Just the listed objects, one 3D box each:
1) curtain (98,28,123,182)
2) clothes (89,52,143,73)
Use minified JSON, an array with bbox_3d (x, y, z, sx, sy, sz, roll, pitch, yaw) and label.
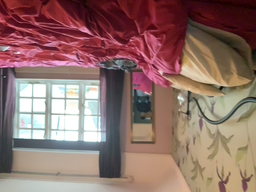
[{"bbox_3d":[-0.270,0.140,3.410,0.340,2.350,0.320,1,-179,0],"label":"curtain"},{"bbox_3d":[-0.140,-0.300,1.990,0.420,0.100,0.560,1,-179,-13],"label":"clothes"}]
